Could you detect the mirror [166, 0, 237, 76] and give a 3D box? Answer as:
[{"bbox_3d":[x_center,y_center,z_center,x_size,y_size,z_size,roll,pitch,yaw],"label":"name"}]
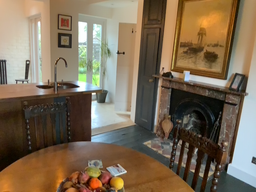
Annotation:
[{"bbox_3d":[0.970,-0.870,2.980,0.090,1.050,0.930,-7,17,-38],"label":"mirror"}]
